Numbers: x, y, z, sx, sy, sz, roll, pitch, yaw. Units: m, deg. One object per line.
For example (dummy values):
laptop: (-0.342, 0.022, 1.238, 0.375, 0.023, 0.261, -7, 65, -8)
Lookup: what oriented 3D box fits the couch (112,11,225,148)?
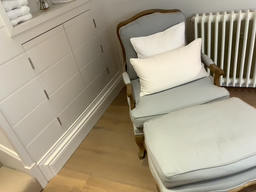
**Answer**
couch: (0.310, -0.180, 1.940, 0.740, 0.840, 0.810, -11, 33, 3)
